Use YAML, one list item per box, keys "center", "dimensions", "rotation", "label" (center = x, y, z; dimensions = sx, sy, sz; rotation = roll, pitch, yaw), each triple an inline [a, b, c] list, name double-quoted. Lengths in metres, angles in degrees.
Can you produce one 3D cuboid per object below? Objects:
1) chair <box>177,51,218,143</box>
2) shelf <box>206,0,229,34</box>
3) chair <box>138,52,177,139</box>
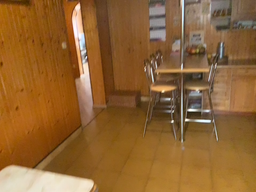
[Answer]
- center: [0.900, 0.010, 2.830]
  dimensions: [0.450, 1.150, 0.360]
  rotation: [2, 19, 18]
  label: "chair"
- center: [1.450, -1.460, 3.420]
  dimensions: [0.290, 0.860, 0.290]
  rotation: [2, 19, 17]
  label: "shelf"
- center: [0.430, -0.010, 2.980]
  dimensions: [0.450, 1.150, 0.360]
  rotation: [3, 20, 19]
  label: "chair"
